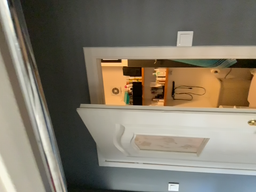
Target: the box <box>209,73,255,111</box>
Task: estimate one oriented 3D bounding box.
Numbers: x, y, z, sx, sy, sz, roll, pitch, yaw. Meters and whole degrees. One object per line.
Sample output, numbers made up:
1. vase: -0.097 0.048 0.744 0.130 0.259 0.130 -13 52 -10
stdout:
1. box: 1.470 -0.060 2.920 0.280 0.560 0.430 -77 -13 -60
